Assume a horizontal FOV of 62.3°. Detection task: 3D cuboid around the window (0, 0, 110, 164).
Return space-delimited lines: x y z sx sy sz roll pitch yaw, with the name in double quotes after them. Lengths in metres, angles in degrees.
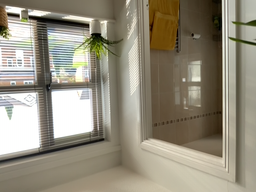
-1.000 -0.110 1.730 1.820 1.280 0.150 -6 -174 -35 "window"
